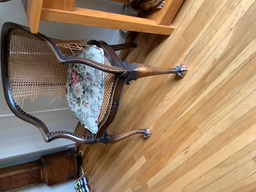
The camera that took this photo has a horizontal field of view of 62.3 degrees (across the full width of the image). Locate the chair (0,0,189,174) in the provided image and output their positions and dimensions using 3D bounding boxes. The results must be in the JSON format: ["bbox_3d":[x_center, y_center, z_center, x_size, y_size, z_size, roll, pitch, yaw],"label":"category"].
[{"bbox_3d":[-0.240,-0.080,1.220,0.600,0.800,0.560,53,133,36],"label":"chair"}]

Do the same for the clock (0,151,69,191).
[{"bbox_3d":[-1.320,0.860,2.070,0.350,1.370,0.280,-36,65,50],"label":"clock"}]
